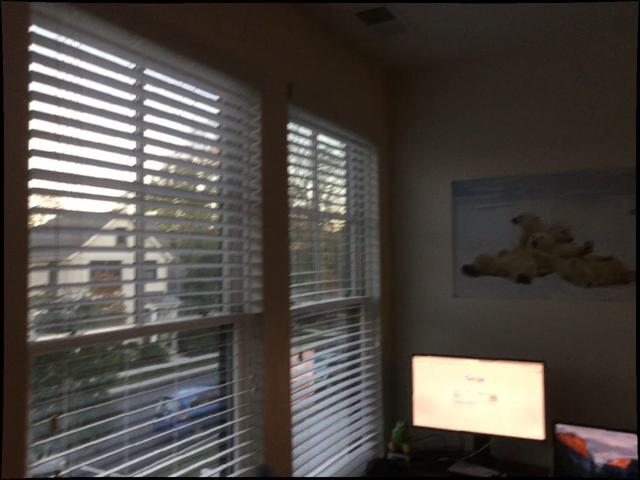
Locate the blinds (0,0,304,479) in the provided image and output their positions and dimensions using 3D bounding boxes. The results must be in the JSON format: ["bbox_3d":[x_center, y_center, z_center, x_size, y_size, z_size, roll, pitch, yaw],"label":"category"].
[{"bbox_3d":[-0.519,0.241,1.620,0.329,1.824,1.099,-4,2,30],"label":"blinds"}]

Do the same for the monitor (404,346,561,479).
[{"bbox_3d":[0.728,0.752,2.600,0.599,0.461,0.290,-4,2,30],"label":"monitor"}]
